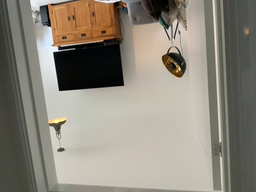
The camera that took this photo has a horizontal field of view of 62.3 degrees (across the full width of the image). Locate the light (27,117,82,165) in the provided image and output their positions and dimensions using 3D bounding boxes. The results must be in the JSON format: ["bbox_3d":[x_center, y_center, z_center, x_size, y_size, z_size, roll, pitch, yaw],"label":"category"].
[{"bbox_3d":[-1.010,0.620,2.970,0.540,0.380,0.350,24,-171,-2],"label":"light"}]

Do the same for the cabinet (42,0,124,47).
[{"bbox_3d":[-0.810,-1.420,3.950,1.310,0.820,0.500,-3,-171,14],"label":"cabinet"}]

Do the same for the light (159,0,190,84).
[{"bbox_3d":[0.860,-1.250,4.000,0.410,1.980,0.540,-5,-171,5],"label":"light"}]
